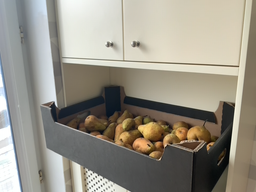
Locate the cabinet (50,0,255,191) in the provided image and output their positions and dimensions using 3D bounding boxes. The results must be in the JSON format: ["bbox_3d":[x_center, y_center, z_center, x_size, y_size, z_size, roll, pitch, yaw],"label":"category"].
[{"bbox_3d":[0.080,0.320,0.870,0.670,2.090,0.300,10,18,38],"label":"cabinet"}]
